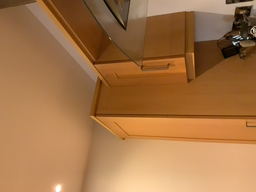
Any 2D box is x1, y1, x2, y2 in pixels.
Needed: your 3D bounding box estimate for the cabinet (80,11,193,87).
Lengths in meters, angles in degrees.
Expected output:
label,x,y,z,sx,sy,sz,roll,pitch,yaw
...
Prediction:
label,x,y,z,sx,sy,sz,roll,pitch,yaw
cabinet,0.080,-0.290,1.450,0.310,0.680,0.330,57,-144,-58
